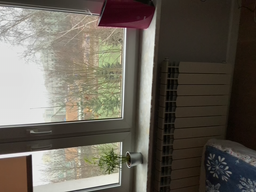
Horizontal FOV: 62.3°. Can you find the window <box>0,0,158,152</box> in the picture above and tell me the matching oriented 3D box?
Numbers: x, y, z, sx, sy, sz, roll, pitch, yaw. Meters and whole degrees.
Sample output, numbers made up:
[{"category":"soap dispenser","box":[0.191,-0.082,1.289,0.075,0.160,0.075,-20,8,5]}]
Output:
[{"category":"window","box":[-0.570,-0.150,1.320,0.140,1.540,0.960,-150,61,-66]}]
